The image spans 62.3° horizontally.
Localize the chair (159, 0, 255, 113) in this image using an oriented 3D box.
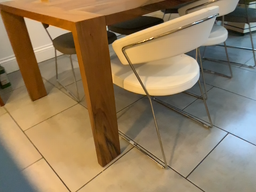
[{"bbox_3d":[0.580,-0.390,1.580,0.480,0.770,0.480,-31,41,-34],"label":"chair"}]
